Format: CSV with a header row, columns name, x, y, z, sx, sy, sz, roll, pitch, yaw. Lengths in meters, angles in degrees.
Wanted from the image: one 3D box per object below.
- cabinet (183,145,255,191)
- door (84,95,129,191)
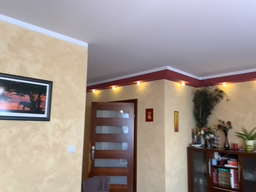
name,x,y,z,sx,sy,sz,roll,pitch,yaw
cabinet,1.650,1.490,3.530,0.480,1.180,1.340,9,-11,-44
door,-0.390,1.030,4.000,0.780,2.080,0.130,2,-8,-3
